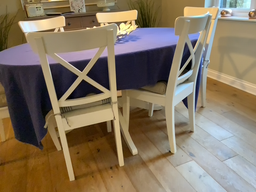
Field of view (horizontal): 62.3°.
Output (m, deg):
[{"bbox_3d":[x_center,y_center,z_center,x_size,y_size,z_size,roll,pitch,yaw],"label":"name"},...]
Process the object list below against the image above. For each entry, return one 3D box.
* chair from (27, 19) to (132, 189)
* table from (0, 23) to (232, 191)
[{"bbox_3d":[-0.300,0.010,1.370,0.420,0.890,0.530,-13,26,-18],"label":"chair"},{"bbox_3d":[-0.160,-0.110,1.790,1.500,0.740,1.050,-14,26,-20],"label":"table"}]
